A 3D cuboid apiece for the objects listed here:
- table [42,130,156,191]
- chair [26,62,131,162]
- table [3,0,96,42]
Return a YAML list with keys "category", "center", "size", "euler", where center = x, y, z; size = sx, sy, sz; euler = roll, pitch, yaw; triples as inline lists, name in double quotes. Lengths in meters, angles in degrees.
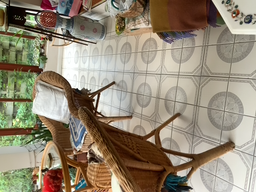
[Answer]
- category: "table"
  center: [-0.320, 0.810, 1.930]
  size: [0.750, 0.710, 0.740]
  euler: [22, 106, 55]
- category: "chair"
  center: [-0.570, 0.160, 2.260]
  size: [0.660, 0.810, 0.690]
  euler: [57, 133, 42]
- category: "table"
  center: [-1.010, -0.950, 2.810]
  size: [0.370, 1.080, 0.260]
  euler: [22, 106, 55]
